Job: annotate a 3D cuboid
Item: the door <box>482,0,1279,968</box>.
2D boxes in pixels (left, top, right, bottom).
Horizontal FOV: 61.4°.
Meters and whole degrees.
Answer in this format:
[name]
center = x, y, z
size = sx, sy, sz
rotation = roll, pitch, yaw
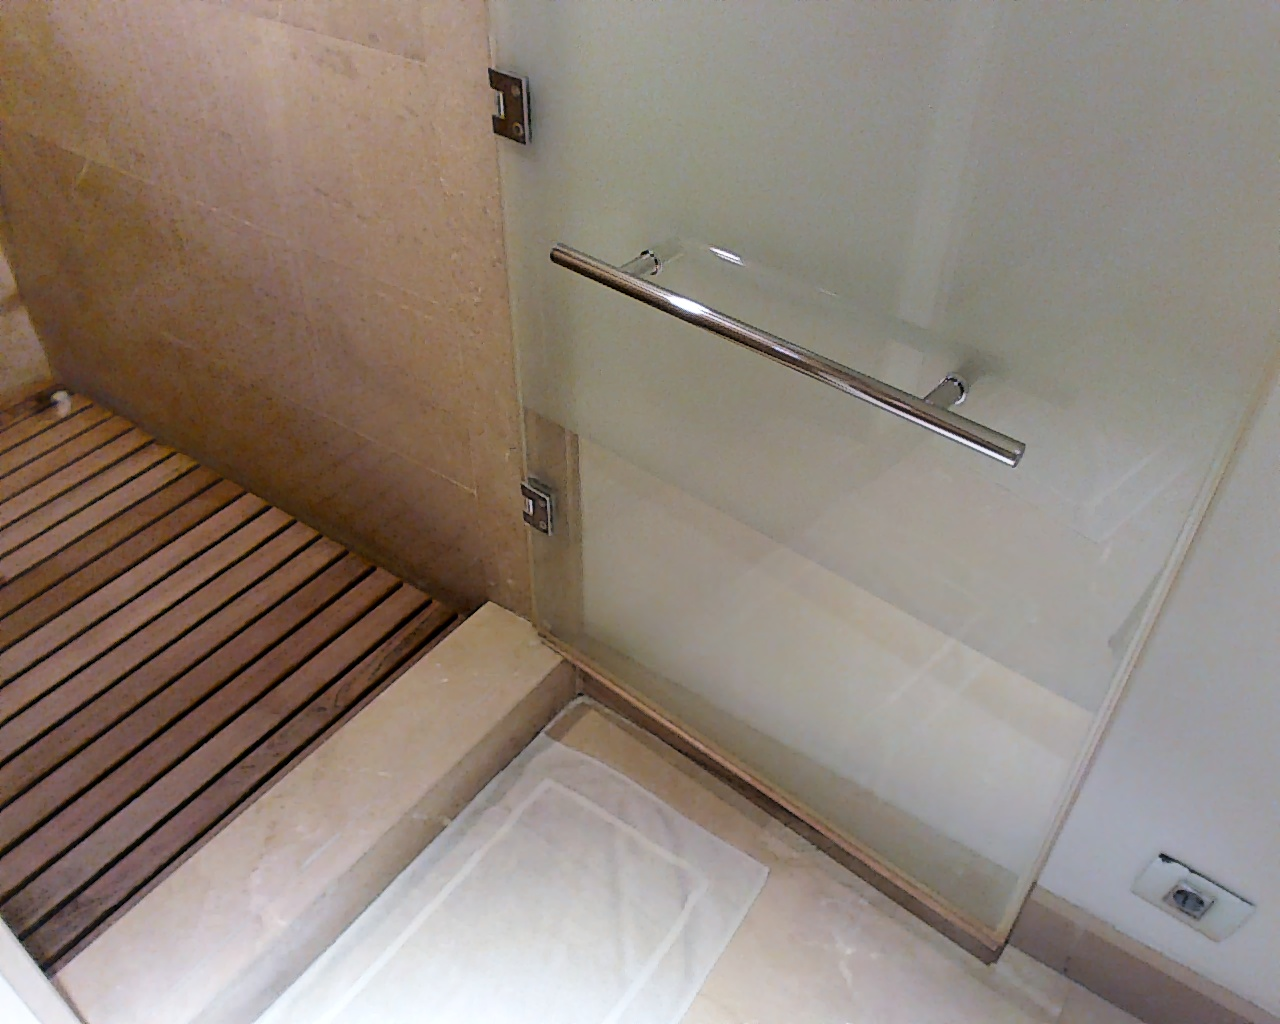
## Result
[door]
center = 0.180, -0.290, 1.130
size = 0.930, 1.960, 0.030
rotation = 29, 49, 29
